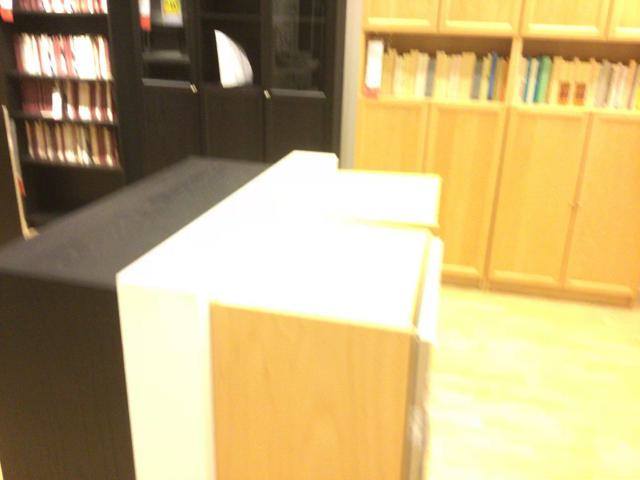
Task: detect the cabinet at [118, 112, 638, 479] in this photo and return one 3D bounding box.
[{"bbox_3d":[0.020,0.450,1.260,0.570,1.080,0.950,26,31,2],"label":"cabinet"}]

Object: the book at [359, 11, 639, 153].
[{"bbox_3d":[0.950,-0.800,2.870,1.420,0.390,0.440,11,34,8],"label":"book"}]

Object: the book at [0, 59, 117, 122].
[{"bbox_3d":[-1.620,-0.920,3.560,0.700,0.260,0.110,11,34,8],"label":"book"}]

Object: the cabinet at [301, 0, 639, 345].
[{"bbox_3d":[0.880,-0.790,3.000,1.590,2.290,0.710,10,19,8],"label":"cabinet"}]

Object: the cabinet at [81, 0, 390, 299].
[{"bbox_3d":[-0.440,-1.000,3.300,1.480,2.320,0.710,10,15,8],"label":"cabinet"}]

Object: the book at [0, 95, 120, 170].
[{"bbox_3d":[-1.670,-0.680,3.640,0.750,0.310,0.190,11,34,8],"label":"book"}]

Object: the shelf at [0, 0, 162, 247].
[{"bbox_3d":[-1.560,-1.060,3.610,0.890,1.990,0.590,10,17,8],"label":"shelf"}]
